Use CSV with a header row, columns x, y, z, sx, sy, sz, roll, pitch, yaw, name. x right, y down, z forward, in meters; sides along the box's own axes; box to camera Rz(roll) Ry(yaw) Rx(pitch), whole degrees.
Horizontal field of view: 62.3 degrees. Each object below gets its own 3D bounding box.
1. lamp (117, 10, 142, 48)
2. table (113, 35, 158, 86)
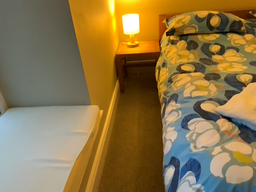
x,y,z,sx,sy,sz,roll,pitch,yaw,name
0.030,-0.730,2.290,0.230,0.310,0.320,-1,31,5,lamp
0.110,-0.420,2.470,0.460,0.420,0.470,-1,31,7,table
